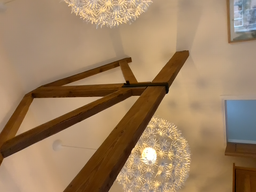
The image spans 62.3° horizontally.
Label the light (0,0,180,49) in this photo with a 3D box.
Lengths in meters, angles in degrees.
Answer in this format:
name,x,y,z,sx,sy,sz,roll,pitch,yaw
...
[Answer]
name,x,y,z,sx,sy,sz,roll,pitch,yaw
light,-0.630,-1.120,1.990,1.840,0.970,1.060,3,-151,33
